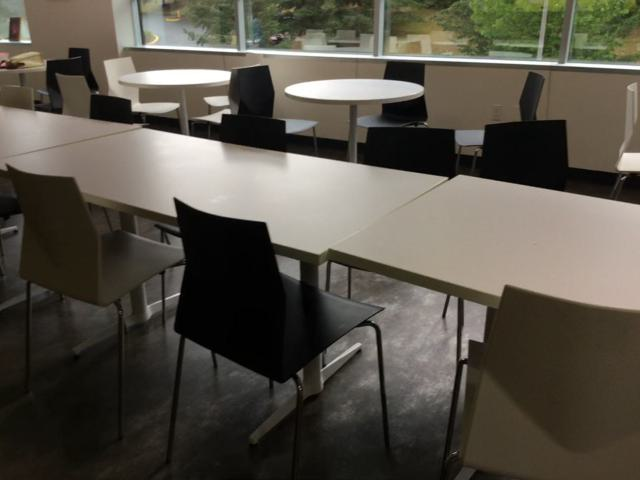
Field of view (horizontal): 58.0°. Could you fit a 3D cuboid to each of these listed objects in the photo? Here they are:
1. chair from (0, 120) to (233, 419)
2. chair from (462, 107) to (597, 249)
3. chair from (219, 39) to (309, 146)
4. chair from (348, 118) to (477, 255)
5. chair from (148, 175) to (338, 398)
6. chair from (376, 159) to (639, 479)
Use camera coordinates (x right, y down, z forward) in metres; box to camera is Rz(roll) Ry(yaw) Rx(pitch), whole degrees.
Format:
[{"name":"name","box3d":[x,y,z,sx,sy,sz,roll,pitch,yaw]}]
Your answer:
[{"name":"chair","box3d":[-0.720,0.060,2.030,0.500,0.810,0.540,15,30,35]},{"name":"chair","box3d":[0.810,-0.260,2.260,0.370,0.430,0.330,15,30,35]},{"name":"chair","box3d":[-0.480,-1.320,5.110,0.510,0.820,0.510,15,30,35]},{"name":"chair","box3d":[0.350,-0.220,2.240,0.420,0.420,0.220,15,30,35]},{"name":"chair","box3d":[-0.190,0.100,1.490,0.410,0.430,0.220,15,30,35]},{"name":"chair","box3d":[0.520,0.340,1.240,0.560,0.830,0.590,15,30,35]}]
